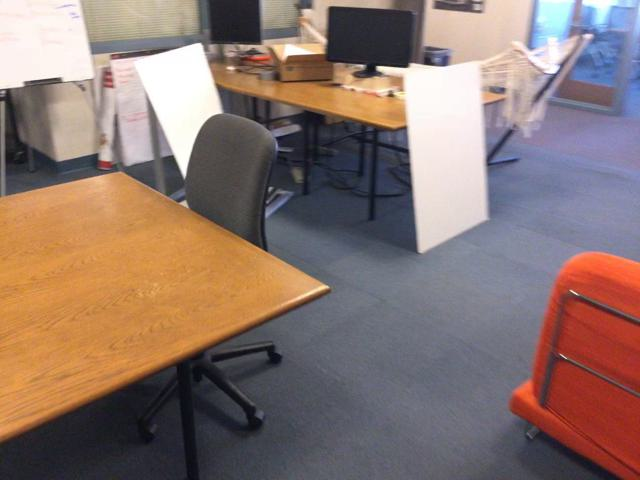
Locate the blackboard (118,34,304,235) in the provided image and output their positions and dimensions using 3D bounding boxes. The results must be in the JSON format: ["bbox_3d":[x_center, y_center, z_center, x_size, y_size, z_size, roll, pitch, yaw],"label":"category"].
[{"bbox_3d":[-0.620,-0.700,3.670,0.640,1.020,0.840,7,28,24],"label":"blackboard"}]

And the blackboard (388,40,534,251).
[{"bbox_3d":[0.800,-0.550,3.360,0.820,1.030,0.200,-23,40,-34],"label":"blackboard"}]
